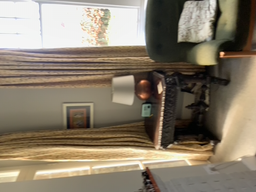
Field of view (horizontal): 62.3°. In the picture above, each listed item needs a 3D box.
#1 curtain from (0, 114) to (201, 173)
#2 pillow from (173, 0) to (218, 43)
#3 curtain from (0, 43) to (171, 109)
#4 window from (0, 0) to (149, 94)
[{"bbox_3d":[-0.510,0.530,2.540,0.450,2.750,0.390,-134,44,-72],"label":"curtain"},{"bbox_3d":[0.610,-0.720,1.960,0.340,0.220,0.420,-128,38,-69],"label":"pillow"},{"bbox_3d":[-0.620,-0.230,2.360,0.270,2.190,0.650,-136,46,-72],"label":"curtain"},{"bbox_3d":[-0.750,-1.060,2.320,0.340,1.950,2.020,-132,42,-71],"label":"window"}]
